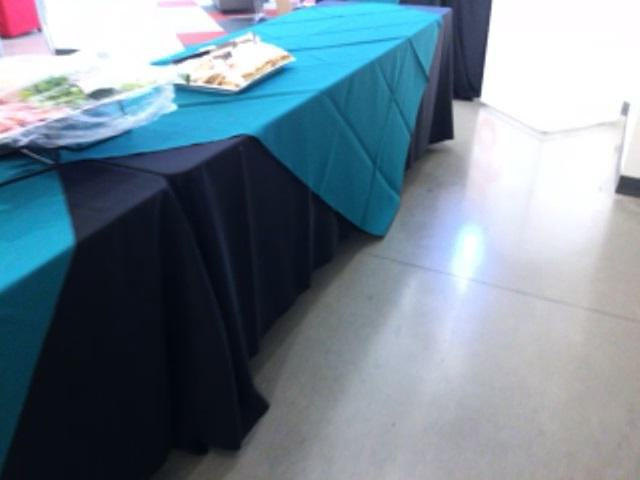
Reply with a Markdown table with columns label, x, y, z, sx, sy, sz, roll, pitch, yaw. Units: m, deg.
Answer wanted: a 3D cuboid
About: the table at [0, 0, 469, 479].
| label | x | y | z | sx | sy | sz | roll | pitch | yaw |
| --- | --- | --- | --- | --- | --- | --- | --- | --- | --- |
| table | -0.620 | 0.130 | 1.460 | 0.890 | 0.910 | 4.630 | 10 | 33 | 24 |
